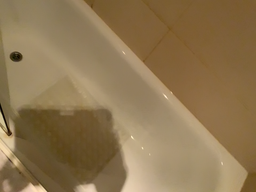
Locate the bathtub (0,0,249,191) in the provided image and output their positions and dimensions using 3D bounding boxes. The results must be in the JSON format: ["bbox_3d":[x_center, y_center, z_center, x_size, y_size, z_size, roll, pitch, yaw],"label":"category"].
[{"bbox_3d":[-0.270,0.100,1.170,1.670,0.550,0.750,48,57,3],"label":"bathtub"}]
